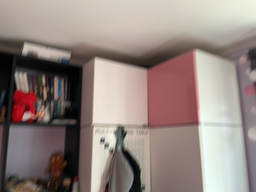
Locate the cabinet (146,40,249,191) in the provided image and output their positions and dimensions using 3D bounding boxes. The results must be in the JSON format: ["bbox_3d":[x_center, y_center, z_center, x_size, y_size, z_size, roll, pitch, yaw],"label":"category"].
[{"bbox_3d":[0.550,0.900,1.650,0.570,2.510,0.510,7,-14,-33],"label":"cabinet"}]
